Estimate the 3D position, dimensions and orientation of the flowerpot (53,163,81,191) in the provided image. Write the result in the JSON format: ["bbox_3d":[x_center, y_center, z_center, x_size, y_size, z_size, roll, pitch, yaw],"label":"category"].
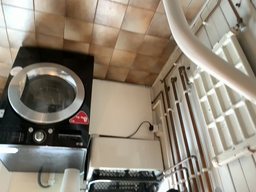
[{"bbox_3d":[-0.490,0.790,1.670,0.180,0.430,0.280,6,146,-14],"label":"flowerpot"}]

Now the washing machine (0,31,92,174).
[{"bbox_3d":[-0.670,0.110,1.770,0.590,0.850,0.810,6,146,-15],"label":"washing machine"}]
